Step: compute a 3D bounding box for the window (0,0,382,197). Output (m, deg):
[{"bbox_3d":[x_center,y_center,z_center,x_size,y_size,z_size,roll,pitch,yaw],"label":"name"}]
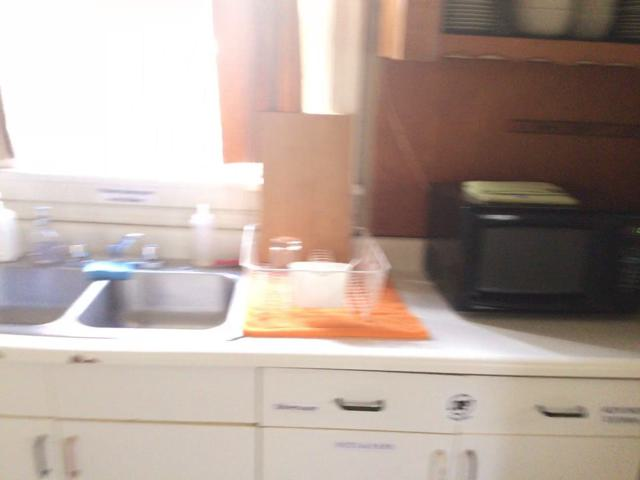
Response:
[{"bbox_3d":[-0.410,-0.760,1.600,1.150,1.200,0.230,3,14,-2],"label":"window"}]
